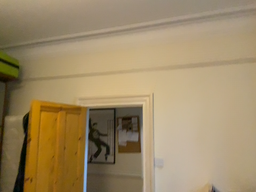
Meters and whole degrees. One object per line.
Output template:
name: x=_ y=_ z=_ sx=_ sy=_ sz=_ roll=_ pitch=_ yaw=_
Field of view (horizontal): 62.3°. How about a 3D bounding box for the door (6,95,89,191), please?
door: x=-0.790 y=1.040 z=2.180 sx=0.150 sy=1.990 sz=0.870 roll=-5 pitch=-10 yaw=31
